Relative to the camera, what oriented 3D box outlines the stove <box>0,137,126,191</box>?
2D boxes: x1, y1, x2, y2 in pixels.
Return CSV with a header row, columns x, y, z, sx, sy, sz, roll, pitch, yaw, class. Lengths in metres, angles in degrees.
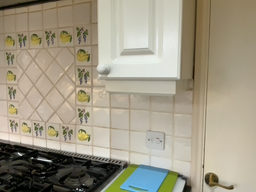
x,y,z,sx,sy,sz,roll,pitch,yaw,class
-0.620,0.360,1.010,1.060,0.050,0.630,3,7,23,stove
